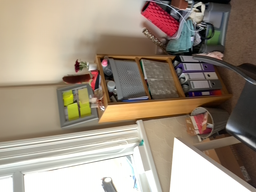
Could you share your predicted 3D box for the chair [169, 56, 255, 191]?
[{"bbox_3d":[0.700,0.080,1.000,0.450,0.830,0.450,-138,49,-58],"label":"chair"}]
